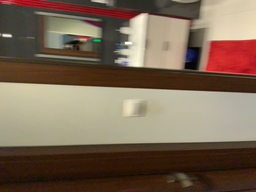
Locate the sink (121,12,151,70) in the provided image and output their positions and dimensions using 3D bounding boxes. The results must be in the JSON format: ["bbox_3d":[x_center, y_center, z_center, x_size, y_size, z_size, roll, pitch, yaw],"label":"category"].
[{"bbox_3d":[0.080,-0.680,2.660,0.470,0.170,0.630,-138,53,-70],"label":"sink"}]
